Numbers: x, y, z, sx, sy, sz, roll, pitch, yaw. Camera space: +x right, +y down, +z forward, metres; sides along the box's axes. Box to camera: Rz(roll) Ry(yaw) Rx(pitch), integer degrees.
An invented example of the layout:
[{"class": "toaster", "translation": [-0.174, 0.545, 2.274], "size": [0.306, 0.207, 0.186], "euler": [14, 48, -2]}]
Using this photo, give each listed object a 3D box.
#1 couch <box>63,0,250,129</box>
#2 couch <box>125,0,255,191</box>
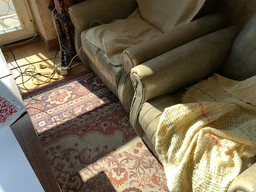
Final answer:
[{"class": "couch", "translation": [0.120, -0.530, 1.380], "size": [0.800, 0.960, 0.820], "euler": [-25, 53, -23]}, {"class": "couch", "translation": [0.530, -0.030, 0.910], "size": [0.820, 0.960, 0.740], "euler": [-23, 52, -21]}]
